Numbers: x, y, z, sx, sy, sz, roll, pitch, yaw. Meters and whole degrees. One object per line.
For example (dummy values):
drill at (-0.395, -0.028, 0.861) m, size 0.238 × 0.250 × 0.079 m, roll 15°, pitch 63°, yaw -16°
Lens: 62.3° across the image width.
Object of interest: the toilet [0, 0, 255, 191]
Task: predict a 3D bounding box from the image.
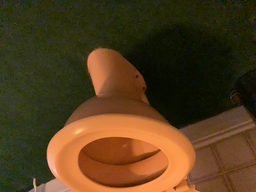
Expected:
toilet at (0.080, 0.300, 0.610) m, size 0.540 × 0.970 × 0.680 m, roll -27°, pitch 130°, yaw 16°
